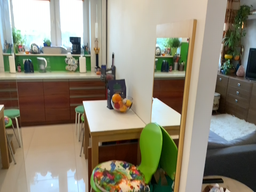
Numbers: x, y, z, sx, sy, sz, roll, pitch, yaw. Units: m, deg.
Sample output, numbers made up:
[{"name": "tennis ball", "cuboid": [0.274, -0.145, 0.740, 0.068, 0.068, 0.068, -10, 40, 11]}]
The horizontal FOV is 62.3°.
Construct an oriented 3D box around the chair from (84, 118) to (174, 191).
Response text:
[{"name": "chair", "cuboid": [-0.040, 0.650, 1.600, 0.550, 0.850, 0.440, 0, 16, -10]}]
